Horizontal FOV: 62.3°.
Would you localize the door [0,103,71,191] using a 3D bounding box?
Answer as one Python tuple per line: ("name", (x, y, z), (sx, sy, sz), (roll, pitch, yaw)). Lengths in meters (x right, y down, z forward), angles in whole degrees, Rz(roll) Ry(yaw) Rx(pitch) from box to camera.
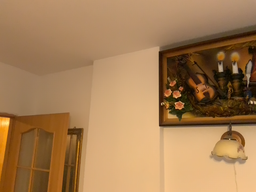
("door", (-0.950, 1.150, 1.930), (0.860, 2.130, 0.080), (-7, -15, 31))
